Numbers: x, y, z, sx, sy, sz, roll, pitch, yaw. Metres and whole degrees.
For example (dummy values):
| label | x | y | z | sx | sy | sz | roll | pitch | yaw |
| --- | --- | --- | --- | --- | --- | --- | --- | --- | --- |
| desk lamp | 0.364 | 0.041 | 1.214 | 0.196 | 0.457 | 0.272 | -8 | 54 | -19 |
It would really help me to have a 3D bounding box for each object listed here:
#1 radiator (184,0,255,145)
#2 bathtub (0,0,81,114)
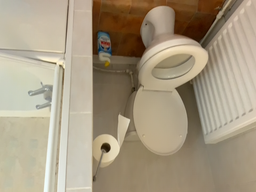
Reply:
| label | x | y | z | sx | sy | sz | roll | pitch | yaw |
| --- | --- | --- | --- | --- | --- | --- | --- | --- | --- |
| radiator | 0.640 | -0.210 | 1.050 | 0.120 | 0.680 | 1.020 | 3 | 155 | -15 |
| bathtub | -1.030 | -0.290 | 1.110 | 1.520 | 0.560 | 0.690 | 1 | 155 | -12 |
